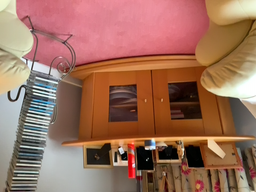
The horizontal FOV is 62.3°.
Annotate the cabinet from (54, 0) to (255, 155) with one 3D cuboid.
[{"bbox_3d":[0.210,0.050,1.740,1.110,0.660,1.150,18,151,-39],"label":"cabinet"}]
